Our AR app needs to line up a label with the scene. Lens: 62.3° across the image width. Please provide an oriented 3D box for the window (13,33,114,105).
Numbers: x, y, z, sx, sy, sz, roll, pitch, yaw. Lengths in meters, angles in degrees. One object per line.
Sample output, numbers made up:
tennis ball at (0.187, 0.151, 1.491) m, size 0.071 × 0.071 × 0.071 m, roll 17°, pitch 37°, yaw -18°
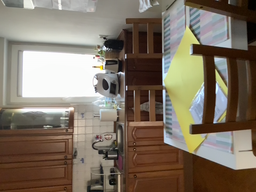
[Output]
window at (-0.870, -0.340, 3.030) m, size 0.230 × 1.320 × 0.940 m, roll 175°, pitch 95°, yaw -76°
